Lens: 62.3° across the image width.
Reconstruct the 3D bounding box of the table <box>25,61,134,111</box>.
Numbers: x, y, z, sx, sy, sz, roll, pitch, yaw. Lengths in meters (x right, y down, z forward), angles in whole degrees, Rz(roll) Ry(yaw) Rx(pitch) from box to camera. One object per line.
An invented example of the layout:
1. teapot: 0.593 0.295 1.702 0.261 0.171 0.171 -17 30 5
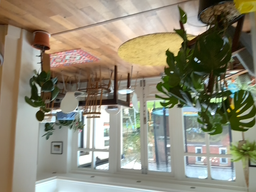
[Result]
1. table: -1.060 -0.120 4.620 2.200 0.760 0.900 -4 171 24
